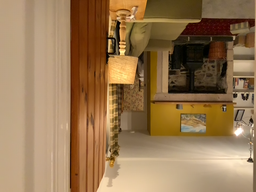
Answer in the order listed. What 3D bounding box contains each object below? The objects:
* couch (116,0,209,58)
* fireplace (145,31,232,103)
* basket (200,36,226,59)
[{"bbox_3d":[0.360,-1.140,3.370,1.080,0.750,1.870,0,-179,-3],"label":"couch"},{"bbox_3d":[1.530,-0.700,5.580,2.030,1.710,0.800,0,180,-3],"label":"fireplace"},{"bbox_3d":[2.160,-1.230,5.420,0.460,0.490,0.450,0,-179,-4],"label":"basket"}]
